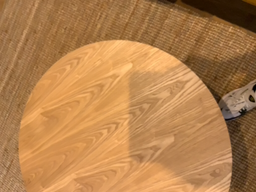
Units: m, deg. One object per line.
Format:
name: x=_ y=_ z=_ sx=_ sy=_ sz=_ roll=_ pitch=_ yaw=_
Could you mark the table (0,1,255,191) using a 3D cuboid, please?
table: x=-0.030 y=0.190 z=0.920 sx=0.800 sy=0.360 sz=0.810 roll=30 pitch=98 yaw=16
